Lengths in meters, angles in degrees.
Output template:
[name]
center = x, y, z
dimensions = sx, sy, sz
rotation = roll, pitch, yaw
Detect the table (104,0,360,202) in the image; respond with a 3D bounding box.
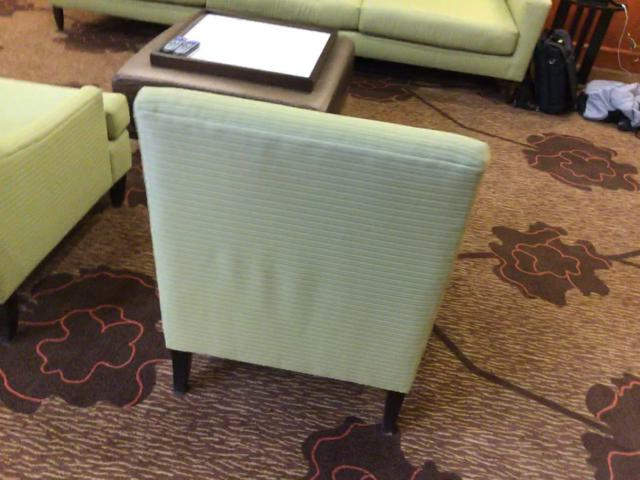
[table]
center = -0.350, -0.720, 2.690
dimensions = 0.890, 0.480, 0.910
rotation = 13, 38, 2
